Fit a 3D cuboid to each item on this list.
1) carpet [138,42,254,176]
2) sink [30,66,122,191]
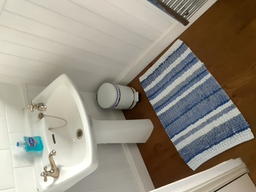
[{"bbox_3d":[0.400,0.070,1.510,0.470,0.020,0.830,-44,58,30],"label":"carpet"},{"bbox_3d":[-0.330,0.180,1.230,0.380,0.230,0.550,-42,59,31],"label":"sink"}]
